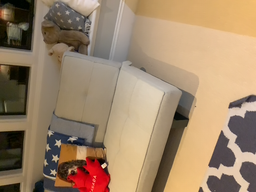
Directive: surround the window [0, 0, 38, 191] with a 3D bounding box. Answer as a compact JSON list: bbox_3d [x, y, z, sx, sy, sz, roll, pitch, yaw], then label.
[{"bbox_3d":[-1.670,0.200,2.110,0.210,1.220,2.840,36,119,51],"label":"window"}]
